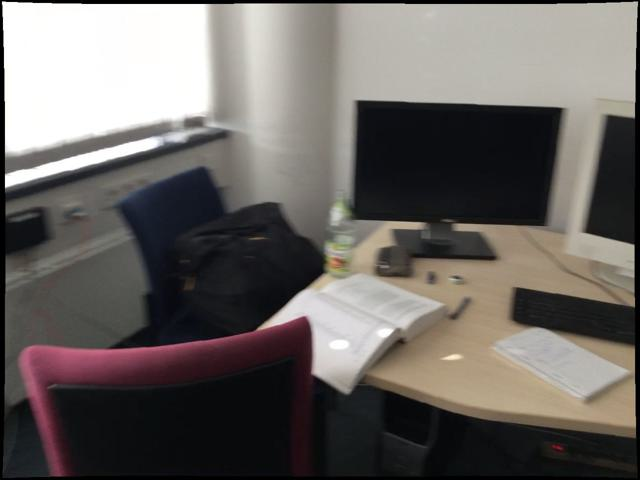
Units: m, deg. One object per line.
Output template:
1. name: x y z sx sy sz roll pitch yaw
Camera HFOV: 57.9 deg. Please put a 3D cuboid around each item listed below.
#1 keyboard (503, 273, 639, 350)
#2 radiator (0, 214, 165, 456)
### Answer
1. keyboard: 0.649 0.170 1.290 0.450 0.030 0.190 11 26 18
2. radiator: -0.989 0.350 1.850 0.220 0.500 1.130 15 27 25
